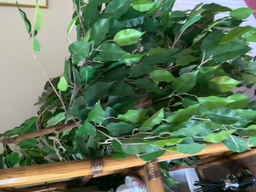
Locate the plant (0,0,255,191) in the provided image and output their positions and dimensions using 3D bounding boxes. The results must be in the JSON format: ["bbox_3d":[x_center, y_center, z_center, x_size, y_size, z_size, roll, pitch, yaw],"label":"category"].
[{"bbox_3d":[0.390,-0.070,0.860,0.620,1.740,0.640,117,146,-56],"label":"plant"}]
